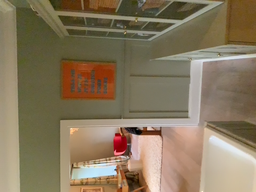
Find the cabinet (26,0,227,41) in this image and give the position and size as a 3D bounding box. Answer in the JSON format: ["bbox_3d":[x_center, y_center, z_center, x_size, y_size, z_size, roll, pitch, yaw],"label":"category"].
[{"bbox_3d":[-0.150,-0.890,2.080,1.800,1.250,0.400,-146,56,-78],"label":"cabinet"}]
